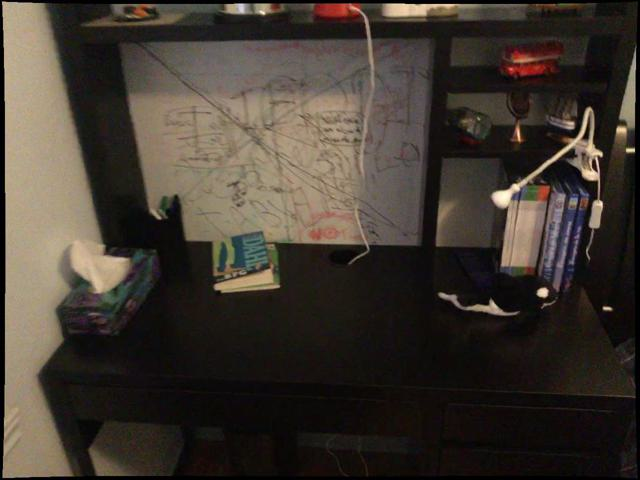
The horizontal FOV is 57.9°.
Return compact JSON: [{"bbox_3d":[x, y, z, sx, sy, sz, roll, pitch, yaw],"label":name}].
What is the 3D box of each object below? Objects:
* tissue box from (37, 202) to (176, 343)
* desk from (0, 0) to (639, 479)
[{"bbox_3d":[-0.440,0.060,1.240,0.150,0.180,0.270,2,30,7],"label":"tissue box"},{"bbox_3d":[0.040,0.150,1.250,1.129,1.371,0.600,2,30,7],"label":"desk"}]
